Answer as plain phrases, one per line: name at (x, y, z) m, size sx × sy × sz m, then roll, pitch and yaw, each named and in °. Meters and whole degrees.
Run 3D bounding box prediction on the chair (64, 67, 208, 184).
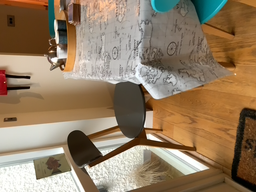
chair at (0.020, 0.120, 1.460) m, size 0.520 × 0.790 × 0.540 m, roll 30°, pitch 118°, yaw 58°
